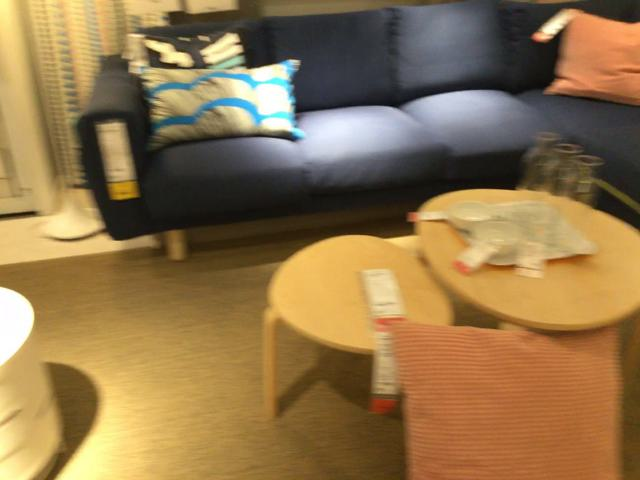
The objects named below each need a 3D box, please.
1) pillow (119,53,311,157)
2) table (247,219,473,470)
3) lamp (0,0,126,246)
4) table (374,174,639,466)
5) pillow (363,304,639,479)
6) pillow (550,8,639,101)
[{"bbox_3d":[-0.420,-0.570,2.380,0.700,0.280,0.410,-6,29,-11],"label":"pillow"},{"bbox_3d":[0.070,0.260,1.650,0.480,0.400,0.540,-6,29,-11],"label":"table"},{"bbox_3d":[-1.060,-0.670,2.310,0.310,1.370,0.340,-6,29,-11],"label":"lamp"},{"bbox_3d":[0.590,0.170,1.720,0.640,0.460,0.730,-4,29,-12],"label":"table"},{"bbox_3d":[0.460,0.450,1.310,0.650,0.550,0.210,-3,-15,-6],"label":"pillow"},{"bbox_3d":[1.330,-0.860,2.660,0.430,0.340,0.280,12,31,20],"label":"pillow"}]
